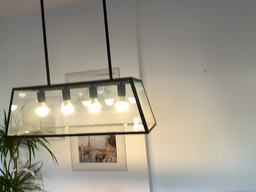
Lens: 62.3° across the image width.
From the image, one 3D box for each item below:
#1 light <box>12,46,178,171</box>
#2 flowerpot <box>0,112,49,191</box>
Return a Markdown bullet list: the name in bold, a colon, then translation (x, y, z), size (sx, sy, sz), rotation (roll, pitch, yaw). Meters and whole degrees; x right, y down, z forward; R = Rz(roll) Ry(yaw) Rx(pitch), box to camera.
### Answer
- **light**: translation (-0.200, 0.080, 1.410), size (0.840, 0.290, 0.690), rotation (-5, -37, -46)
- **flowerpot**: translation (-1.020, 0.850, 1.810), size (0.520, 1.350, 0.400), rotation (-5, 0, 3)
